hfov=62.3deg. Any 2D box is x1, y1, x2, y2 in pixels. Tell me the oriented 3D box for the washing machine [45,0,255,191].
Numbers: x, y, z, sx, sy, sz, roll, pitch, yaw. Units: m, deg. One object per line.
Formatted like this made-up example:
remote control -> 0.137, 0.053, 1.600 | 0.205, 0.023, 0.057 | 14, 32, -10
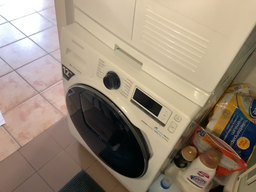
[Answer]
washing machine -> 0.120, -0.010, 1.220 | 0.630, 0.860, 0.790 | 39, 53, 22
